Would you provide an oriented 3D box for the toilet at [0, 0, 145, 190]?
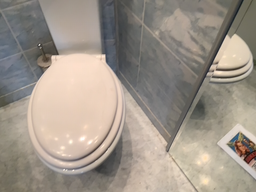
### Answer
[{"bbox_3d":[-0.210,-0.070,0.920,0.420,0.850,0.710,-2,56,-3],"label":"toilet"}]
